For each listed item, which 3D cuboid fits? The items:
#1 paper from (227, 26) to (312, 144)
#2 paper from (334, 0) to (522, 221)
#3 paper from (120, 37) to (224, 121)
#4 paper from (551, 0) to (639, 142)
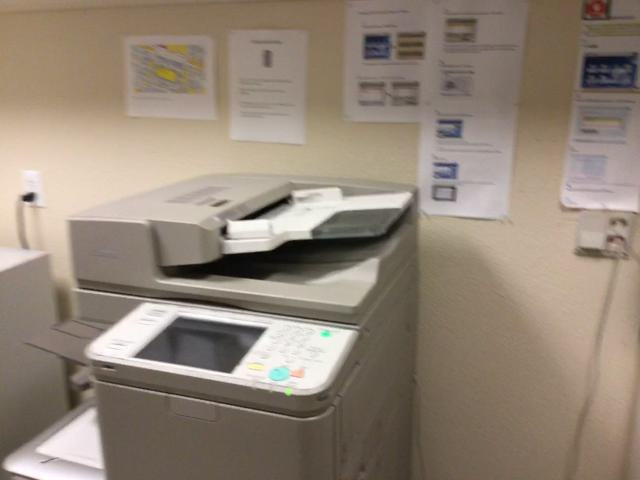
[{"bbox_3d":[-0.130,-0.390,1.470,0.220,0.280,0.030,5,12,19],"label":"paper"},{"bbox_3d":[0.240,-0.300,1.350,0.400,0.480,0.070,5,12,19],"label":"paper"},{"bbox_3d":[-0.400,-0.430,1.560,0.300,0.210,0.030,5,12,19],"label":"paper"},{"bbox_3d":[0.600,-0.360,1.210,0.190,0.300,0.030,5,12,19],"label":"paper"}]
